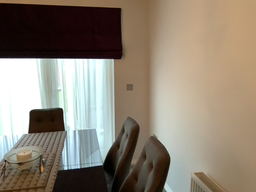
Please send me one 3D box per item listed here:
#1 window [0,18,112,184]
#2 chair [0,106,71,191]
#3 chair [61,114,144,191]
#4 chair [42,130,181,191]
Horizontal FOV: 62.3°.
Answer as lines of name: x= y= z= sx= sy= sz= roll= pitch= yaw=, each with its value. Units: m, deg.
window: x=-1.300 y=0.110 z=2.900 sx=2.140 sy=2.220 sz=0.050 roll=-1 pitch=8 yaw=-10
chair: x=-0.860 y=0.630 z=2.120 sx=0.500 sy=0.950 sz=0.590 roll=-1 pitch=8 yaw=-11
chair: x=-0.220 y=0.680 z=1.750 sx=0.570 sy=0.950 sz=0.500 roll=-2 pitch=8 yaw=-13
chair: x=-0.100 y=0.750 z=1.250 sx=0.620 sy=0.960 sz=0.490 roll=-1 pitch=8 yaw=-10
